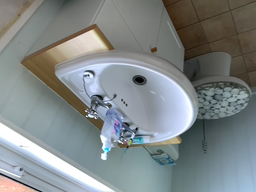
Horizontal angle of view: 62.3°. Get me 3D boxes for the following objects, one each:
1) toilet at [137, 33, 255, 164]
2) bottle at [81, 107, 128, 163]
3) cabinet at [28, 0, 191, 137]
[{"bbox_3d":[0.520,0.040,1.570,0.670,0.760,0.420,-13,136,30],"label":"toilet"},{"bbox_3d":[-0.090,0.160,0.870,0.110,0.190,0.100,-12,136,30],"label":"bottle"},{"bbox_3d":[0.040,-0.330,1.200,0.390,0.820,0.740,-13,136,30],"label":"cabinet"}]
